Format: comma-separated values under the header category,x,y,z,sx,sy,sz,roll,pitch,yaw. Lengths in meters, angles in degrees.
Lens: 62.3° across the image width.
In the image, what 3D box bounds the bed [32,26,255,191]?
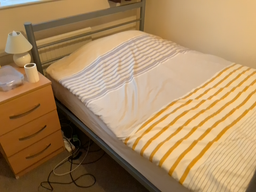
category,x,y,z,sx,sy,sz,roll,pitch,yaw
bed,0.420,0.110,1.640,1.320,0.570,2.100,-29,44,-34
